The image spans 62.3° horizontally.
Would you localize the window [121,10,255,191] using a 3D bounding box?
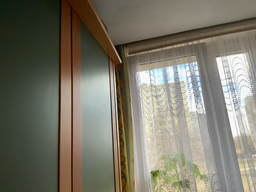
[{"bbox_3d":[0.590,0.240,1.550,1.140,1.640,0.220,-8,-15,10],"label":"window"}]
